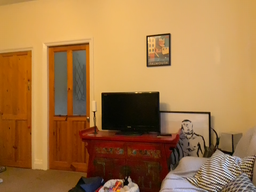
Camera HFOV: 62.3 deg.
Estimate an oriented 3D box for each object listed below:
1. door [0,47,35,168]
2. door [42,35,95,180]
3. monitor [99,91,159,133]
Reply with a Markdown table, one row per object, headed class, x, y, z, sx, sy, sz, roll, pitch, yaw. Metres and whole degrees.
| class | x | y | z | sx | sy | sz | roll | pitch | yaw |
| --- | --- | --- | --- | --- | --- | --- | --- | --- | --- |
| door | -1.900 | 0.180 | 3.530 | 0.790 | 1.940 | 0.050 | 0 | -1 | 17 |
| door | -0.930 | 0.170 | 3.300 | 0.790 | 2.110 | 0.200 | -1 | -1 | 17 |
| monitor | 0.000 | 0.200 | 2.790 | 0.810 | 0.520 | 0.040 | 0 | -1 | 18 |
